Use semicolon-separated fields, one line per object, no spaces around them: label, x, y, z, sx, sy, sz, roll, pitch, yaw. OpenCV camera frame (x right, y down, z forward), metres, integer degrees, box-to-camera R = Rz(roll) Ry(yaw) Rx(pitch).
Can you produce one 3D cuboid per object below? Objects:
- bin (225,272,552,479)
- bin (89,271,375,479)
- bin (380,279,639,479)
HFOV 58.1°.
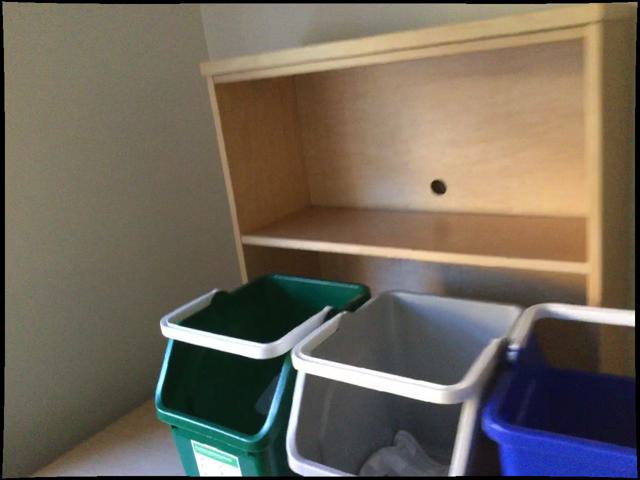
bin;0.140;0.301;0.930;0.349;0.341;0.400;5;21;35
bin;-0.150;0.281;1.120;0.349;0.291;0.370;5;21;35
bin;0.379;0.311;0.820;0.409;0.341;0.410;5;21;35
